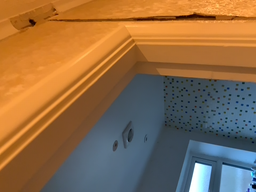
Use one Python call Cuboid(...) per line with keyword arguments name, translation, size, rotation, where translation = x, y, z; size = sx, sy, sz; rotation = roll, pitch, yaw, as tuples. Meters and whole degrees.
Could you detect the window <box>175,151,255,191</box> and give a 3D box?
Cuboid(name="window", translation=(0.980, 1.120, 2.170), size=(1.160, 0.990, 0.050), rotation=(-53, -37, -49))
